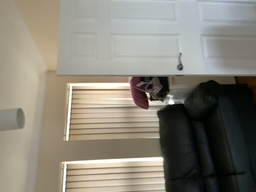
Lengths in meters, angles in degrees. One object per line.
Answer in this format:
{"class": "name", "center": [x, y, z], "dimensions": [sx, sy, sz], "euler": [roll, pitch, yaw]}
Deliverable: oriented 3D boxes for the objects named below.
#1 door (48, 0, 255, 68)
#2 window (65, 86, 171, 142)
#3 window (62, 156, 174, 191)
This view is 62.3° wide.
{"class": "door", "center": [0.430, -0.640, 1.840], "dimensions": [0.030, 2.120, 0.840], "euler": [112, 157, -74]}
{"class": "window", "center": [-0.140, 0.230, 3.050], "dimensions": [0.030, 1.450, 0.810], "euler": [105, 164, -67]}
{"class": "window", "center": [-0.110, 1.220, 2.650], "dimensions": [0.050, 1.390, 0.860], "euler": [105, 163, -68]}
